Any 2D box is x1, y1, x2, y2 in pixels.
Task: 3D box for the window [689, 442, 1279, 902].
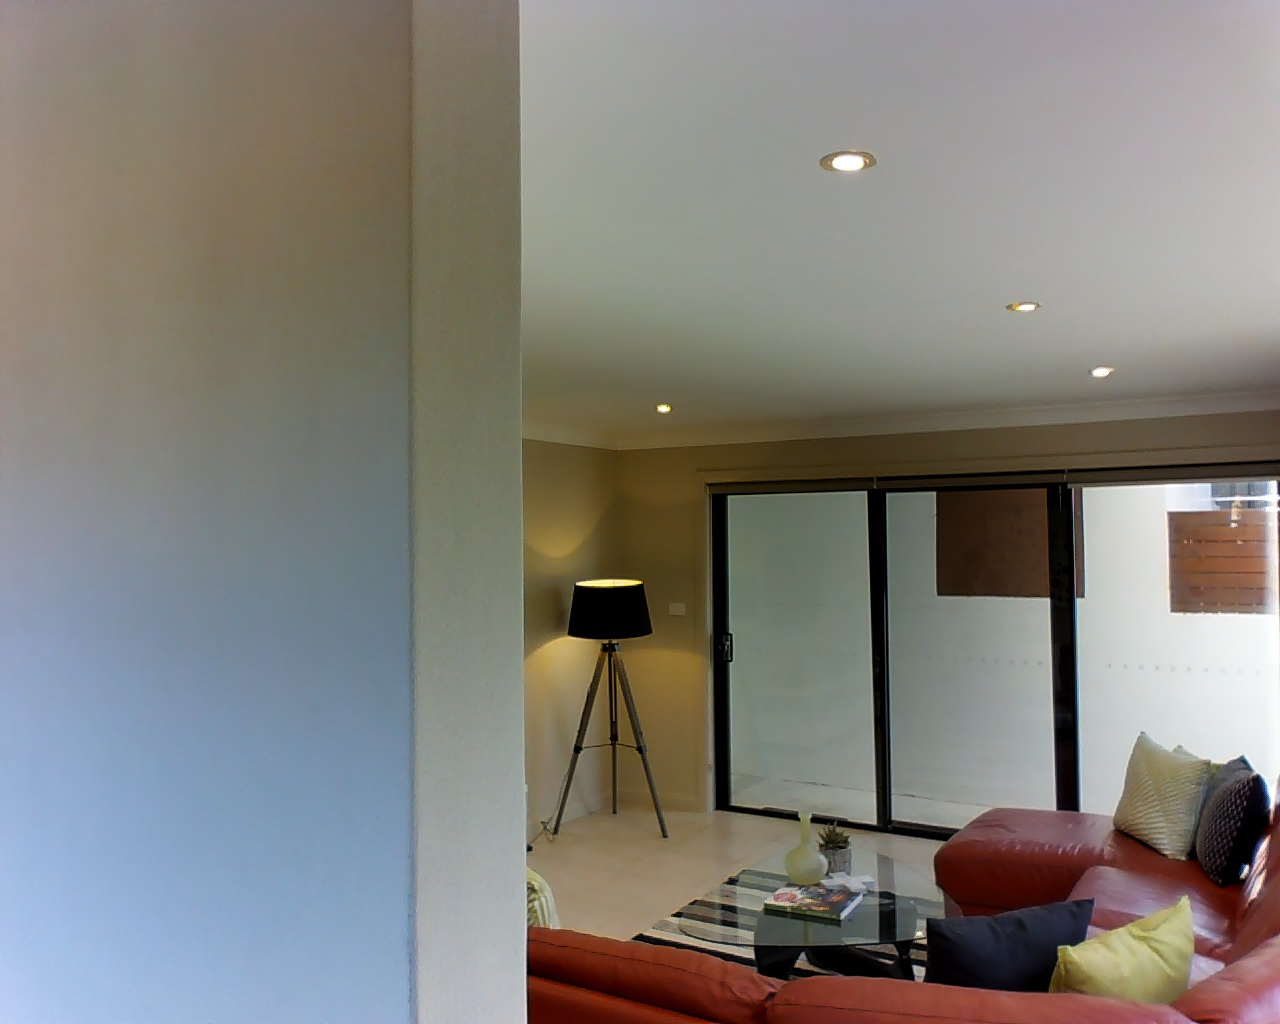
[{"bbox_3d":[1.799,0.780,5.900,3.299,2.161,0.260,-1,-2,30],"label":"window"}]
